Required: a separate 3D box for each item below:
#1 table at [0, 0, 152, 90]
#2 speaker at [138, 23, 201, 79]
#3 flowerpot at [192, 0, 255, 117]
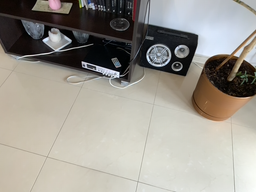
[{"bbox_3d":[-0.350,-0.540,1.320,0.930,0.740,0.440,13,54,5],"label":"table"},{"bbox_3d":[0.290,-0.320,1.520,0.370,0.250,0.200,15,54,6],"label":"speaker"},{"bbox_3d":[0.680,-0.300,1.060,0.350,0.940,0.250,-25,60,-21],"label":"flowerpot"}]
